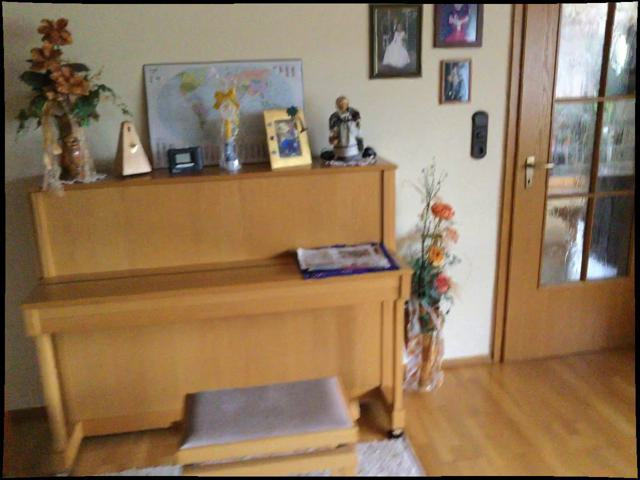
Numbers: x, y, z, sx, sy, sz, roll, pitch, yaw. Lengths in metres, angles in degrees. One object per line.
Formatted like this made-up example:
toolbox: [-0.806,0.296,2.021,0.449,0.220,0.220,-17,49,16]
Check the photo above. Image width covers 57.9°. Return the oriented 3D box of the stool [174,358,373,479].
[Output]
stool: [-0.160,0.731,1.950,0.579,0.470,0.410,-2,18,-8]

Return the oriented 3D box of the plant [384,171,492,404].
plant: [0.529,0.210,2.740,0.310,1.001,0.410,-3,18,-10]
